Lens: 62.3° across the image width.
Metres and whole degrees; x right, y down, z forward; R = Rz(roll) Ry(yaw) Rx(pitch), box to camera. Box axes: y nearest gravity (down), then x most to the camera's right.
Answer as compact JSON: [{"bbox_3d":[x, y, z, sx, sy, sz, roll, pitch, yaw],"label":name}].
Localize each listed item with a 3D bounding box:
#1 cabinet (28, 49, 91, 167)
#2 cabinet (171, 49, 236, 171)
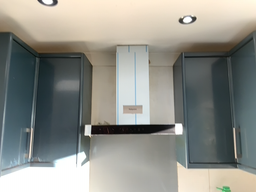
[{"bbox_3d":[-0.480,0.090,1.600,0.330,0.800,0.340,0,-9,0],"label":"cabinet"},{"bbox_3d":[0.530,0.100,1.590,0.320,0.820,0.330,0,-9,0],"label":"cabinet"}]
